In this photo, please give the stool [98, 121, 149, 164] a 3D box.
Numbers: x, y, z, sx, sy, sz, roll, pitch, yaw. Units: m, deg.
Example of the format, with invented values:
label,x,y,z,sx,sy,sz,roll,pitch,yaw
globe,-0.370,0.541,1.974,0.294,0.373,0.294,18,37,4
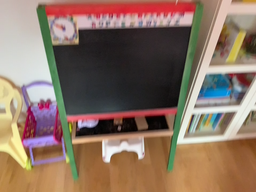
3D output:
label,x,y,z,sx,sy,sz,roll,pitch,yaw
stool,-0.040,0.330,1.520,0.330,0.200,0.190,-4,44,-7
